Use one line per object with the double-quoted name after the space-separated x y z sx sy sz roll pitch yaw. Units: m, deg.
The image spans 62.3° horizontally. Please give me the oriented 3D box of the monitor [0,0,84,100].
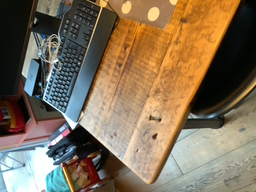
-0.380 -0.250 0.670 0.030 0.470 0.540 31 101 31 "monitor"
